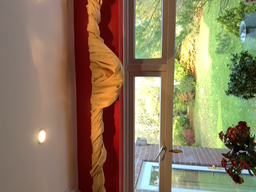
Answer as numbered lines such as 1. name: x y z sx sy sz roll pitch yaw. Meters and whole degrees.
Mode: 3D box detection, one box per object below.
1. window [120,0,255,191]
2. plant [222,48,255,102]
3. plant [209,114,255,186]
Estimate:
1. window: 0.480 0.250 1.560 0.080 1.090 3.540 -28 -61 -79
2. plant: 0.840 -0.130 1.430 0.260 0.320 0.330 1 -89 -80
3. plant: 0.850 0.360 1.530 0.430 0.400 0.370 -33 -56 -78
